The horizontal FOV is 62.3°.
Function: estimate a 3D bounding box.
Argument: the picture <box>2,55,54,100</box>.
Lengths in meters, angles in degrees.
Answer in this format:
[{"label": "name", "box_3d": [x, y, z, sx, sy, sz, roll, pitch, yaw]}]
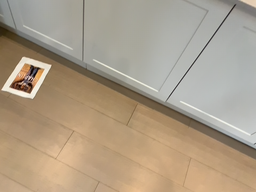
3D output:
[{"label": "picture", "box_3d": [-0.660, -0.130, 1.420, 0.210, 0.020, 0.300, 16, 58, -3]}]
